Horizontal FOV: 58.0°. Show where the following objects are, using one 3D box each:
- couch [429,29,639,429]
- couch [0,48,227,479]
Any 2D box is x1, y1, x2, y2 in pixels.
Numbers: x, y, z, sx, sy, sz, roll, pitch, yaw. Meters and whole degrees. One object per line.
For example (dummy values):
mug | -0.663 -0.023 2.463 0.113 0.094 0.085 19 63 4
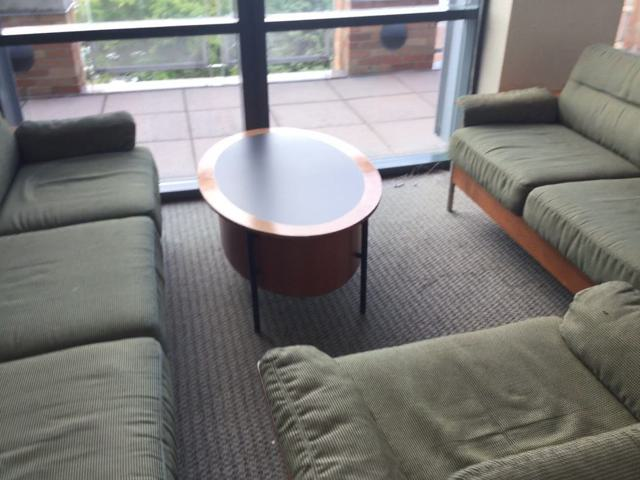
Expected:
couch | 1.080 -0.230 2.160 0.800 0.780 1.550 -9 29 -8
couch | -0.750 0.140 1.630 0.790 0.890 2.150 -9 29 -9
